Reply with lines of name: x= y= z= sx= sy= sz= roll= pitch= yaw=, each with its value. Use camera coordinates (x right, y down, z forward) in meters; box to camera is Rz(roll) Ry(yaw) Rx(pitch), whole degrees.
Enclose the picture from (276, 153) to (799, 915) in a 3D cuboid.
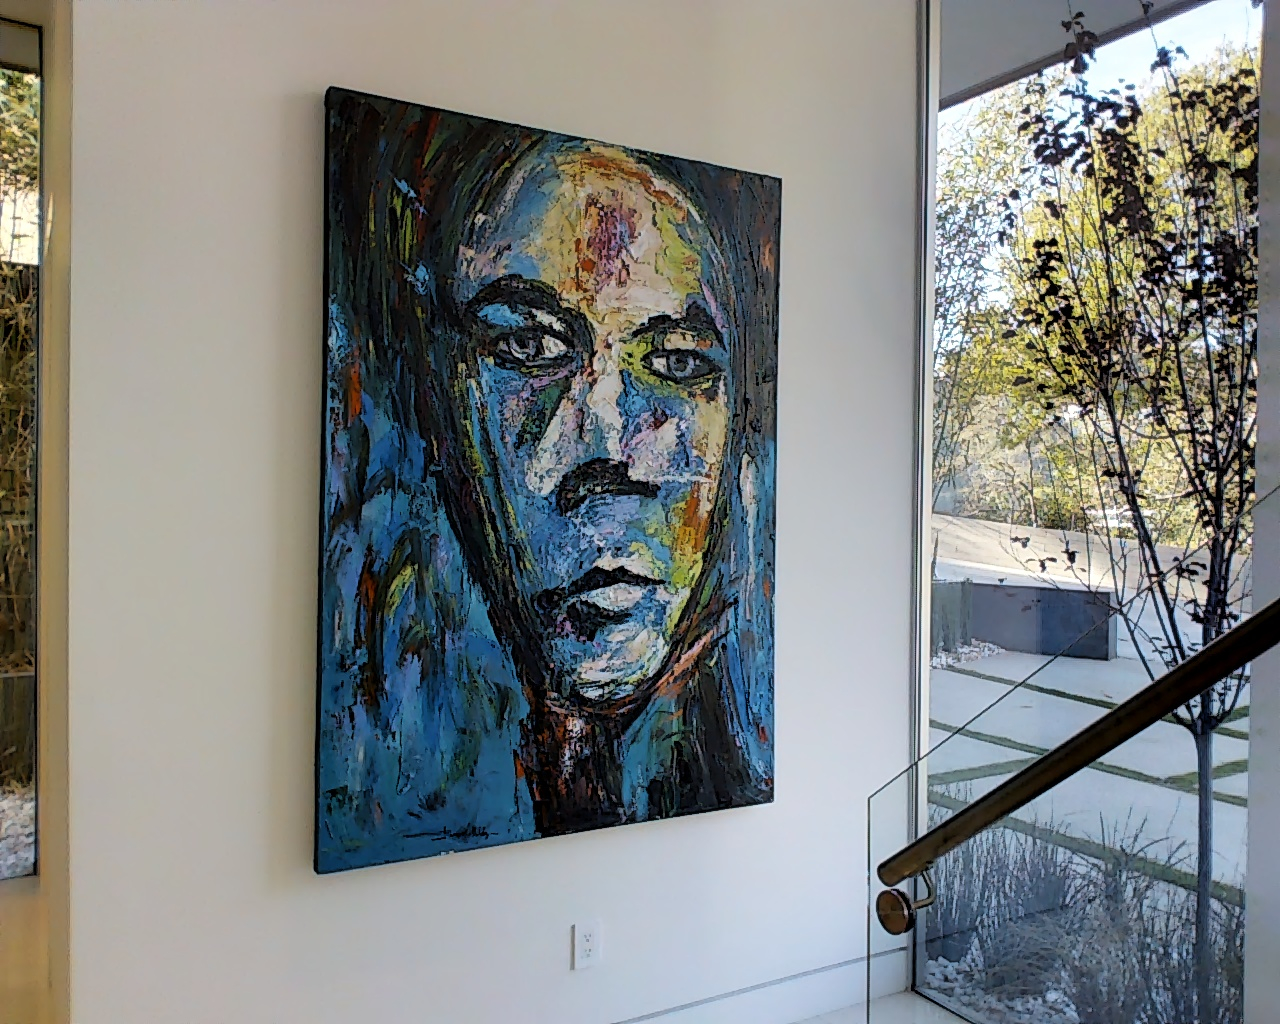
picture: x=-0.190 y=0.050 z=2.770 sx=1.420 sy=1.690 sz=0.080 roll=0 pitch=1 yaw=-29
